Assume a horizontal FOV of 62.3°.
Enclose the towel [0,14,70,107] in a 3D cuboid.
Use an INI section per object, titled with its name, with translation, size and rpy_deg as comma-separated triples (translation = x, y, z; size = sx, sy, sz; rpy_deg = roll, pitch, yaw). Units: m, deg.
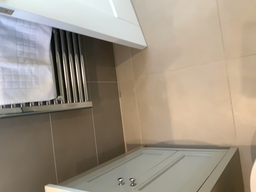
[towel]
translation = -0.420, -0.140, 0.930
size = 0.080, 0.300, 0.350
rpy_deg = -7, 89, 35
